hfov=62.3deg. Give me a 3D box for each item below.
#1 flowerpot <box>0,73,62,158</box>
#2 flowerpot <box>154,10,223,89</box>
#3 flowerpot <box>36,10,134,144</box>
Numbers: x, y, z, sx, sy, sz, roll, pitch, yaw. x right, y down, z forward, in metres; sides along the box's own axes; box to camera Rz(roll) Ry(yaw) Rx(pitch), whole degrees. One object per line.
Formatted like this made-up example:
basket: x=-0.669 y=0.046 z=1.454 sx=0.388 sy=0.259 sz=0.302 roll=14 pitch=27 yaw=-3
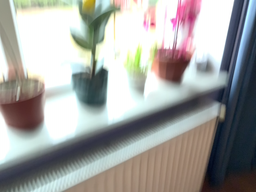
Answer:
flowerpot: x=-0.370 y=0.060 z=0.790 sx=0.170 sy=0.220 sz=0.190 roll=-14 pitch=30 yaw=-27
flowerpot: x=0.300 y=-0.250 z=1.090 sx=0.260 sy=0.340 sz=0.170 roll=-17 pitch=31 yaw=-31
flowerpot: x=-0.180 y=-0.110 z=0.920 sx=0.250 sy=0.460 sz=0.330 roll=-18 pitch=32 yaw=-33
